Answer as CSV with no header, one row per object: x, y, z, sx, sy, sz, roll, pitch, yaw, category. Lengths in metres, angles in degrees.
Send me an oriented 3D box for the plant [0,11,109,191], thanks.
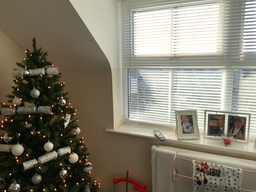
-0.700,0.390,1.580,0.810,1.710,0.770,4,10,25,plant
